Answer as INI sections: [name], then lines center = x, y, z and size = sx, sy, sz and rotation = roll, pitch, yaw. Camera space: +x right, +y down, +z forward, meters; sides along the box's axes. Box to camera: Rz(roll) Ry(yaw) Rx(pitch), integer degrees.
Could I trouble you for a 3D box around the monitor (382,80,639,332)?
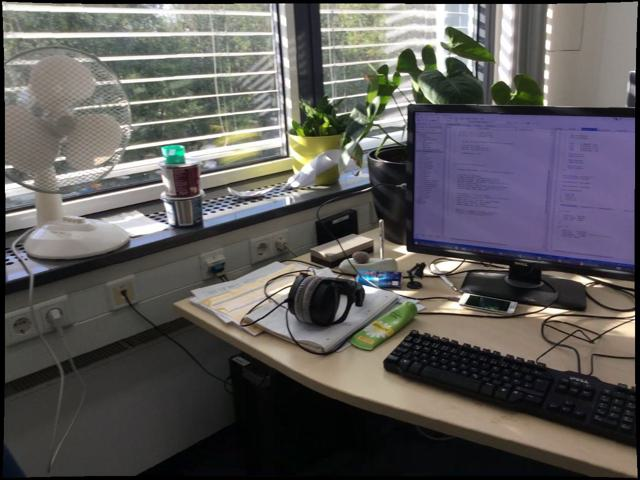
[monitor]
center = 0.480, -0.110, 1.310
size = 0.600, 0.450, 0.310
rotation = 8, 23, 25
